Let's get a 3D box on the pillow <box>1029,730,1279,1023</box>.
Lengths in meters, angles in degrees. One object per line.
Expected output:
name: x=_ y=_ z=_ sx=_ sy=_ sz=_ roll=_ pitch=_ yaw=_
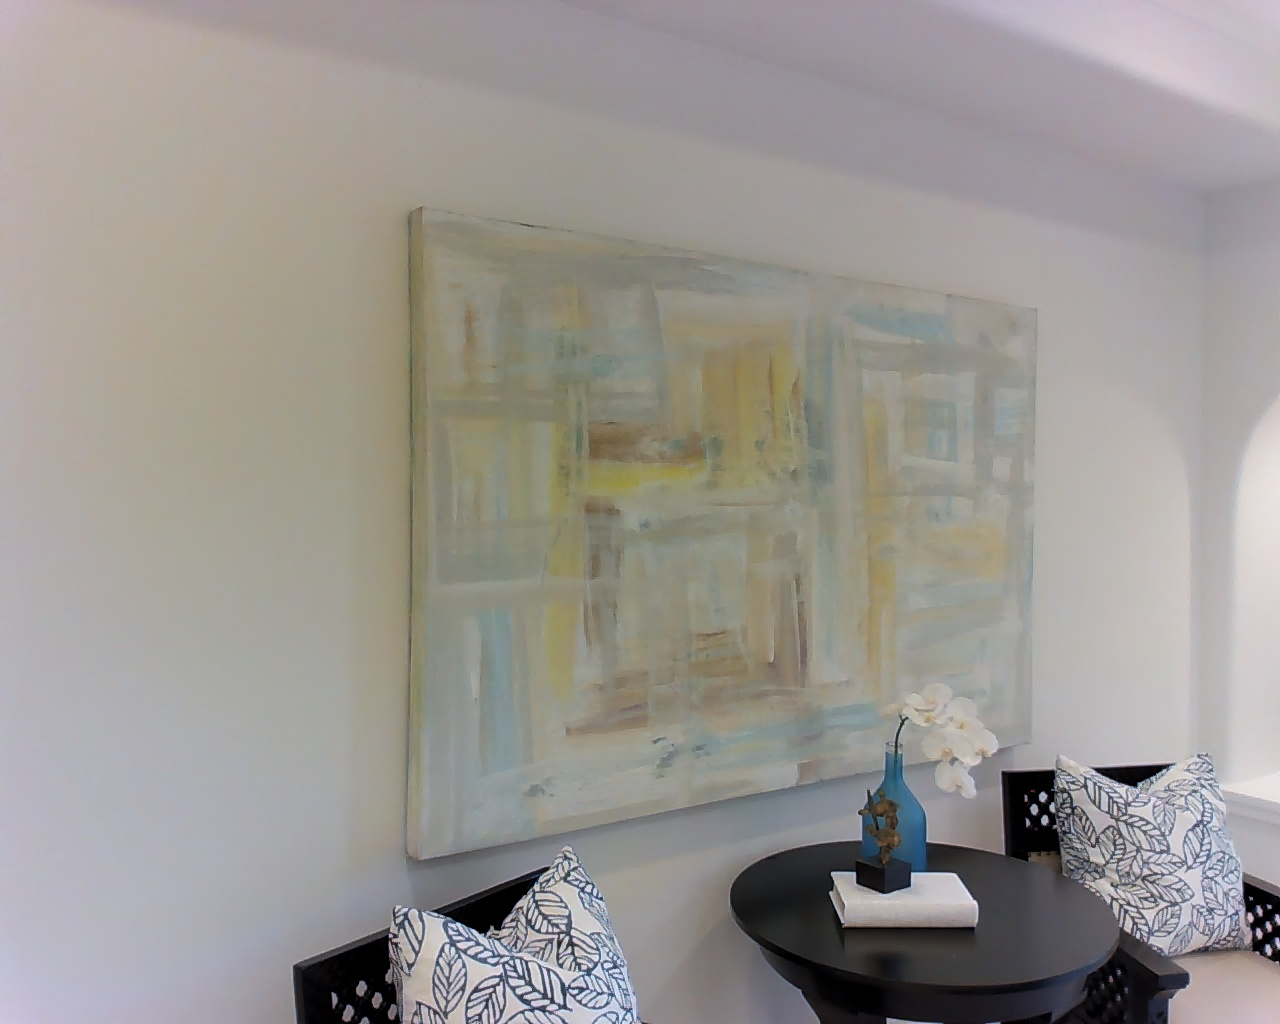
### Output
pillow: x=1.310 y=0.890 z=2.680 sx=0.490 sy=0.490 sz=0.290 roll=-16 pitch=10 yaw=-15

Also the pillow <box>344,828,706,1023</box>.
pillow: x=-0.160 y=0.870 z=1.790 sx=0.320 sy=0.480 sz=0.450 roll=-5 pitch=10 yaw=38
